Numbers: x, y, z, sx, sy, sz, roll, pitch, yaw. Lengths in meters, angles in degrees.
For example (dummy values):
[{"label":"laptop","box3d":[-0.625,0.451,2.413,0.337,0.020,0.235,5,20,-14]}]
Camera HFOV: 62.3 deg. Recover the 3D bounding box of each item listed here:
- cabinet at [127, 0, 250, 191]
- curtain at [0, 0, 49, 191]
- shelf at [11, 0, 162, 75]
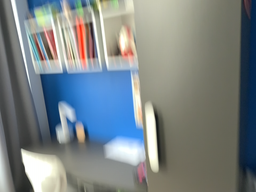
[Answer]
[{"label":"cabinet","box3d":[0.400,0.310,1.250,0.480,1.930,0.530,3,14,30]},{"label":"curtain","box3d":[-1.110,-0.050,1.860,0.190,2.760,0.440,2,14,28]},{"label":"shelf","box3d":[-0.410,-0.430,1.720,1.340,0.480,0.250,3,15,32]}]
